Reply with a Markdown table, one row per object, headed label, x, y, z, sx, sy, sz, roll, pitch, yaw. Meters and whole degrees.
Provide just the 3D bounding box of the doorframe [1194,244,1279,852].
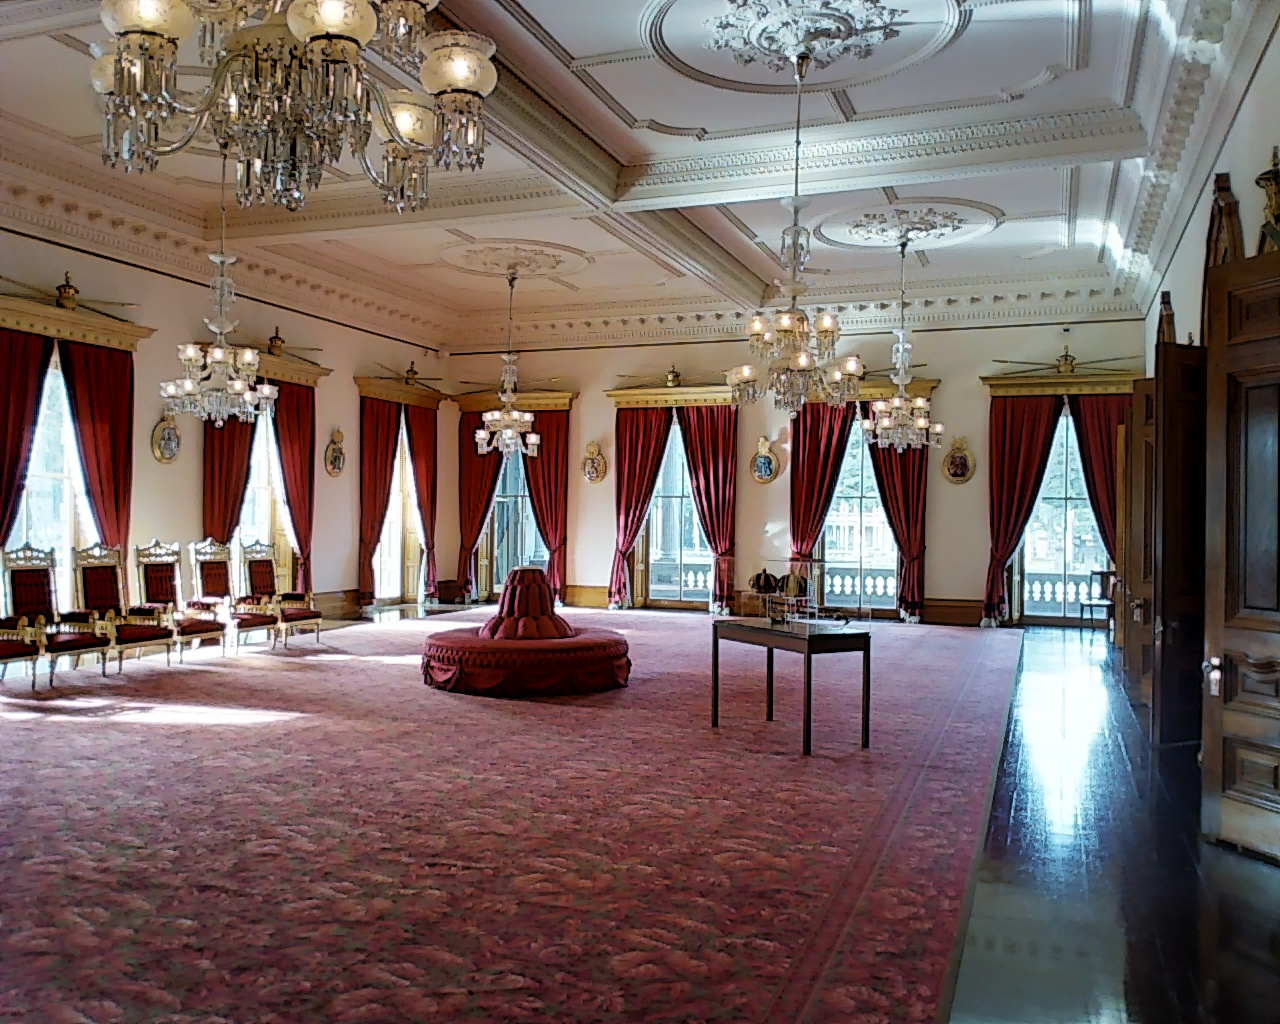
| label | x | y | z | sx | sy | sz | roll | pitch | yaw |
| --- | --- | --- | --- | --- | --- | --- | --- | --- | --- |
| doorframe | 3.020 | 0.160 | 5.150 | 0.140 | 2.840 | 0.730 | 1 | -1 | -19 |
